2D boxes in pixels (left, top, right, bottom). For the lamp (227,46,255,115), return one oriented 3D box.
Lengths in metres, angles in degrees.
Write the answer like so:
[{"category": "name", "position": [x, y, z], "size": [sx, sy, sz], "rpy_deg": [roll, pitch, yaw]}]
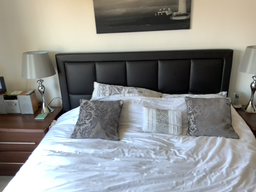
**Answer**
[{"category": "lamp", "position": [1.320, -0.170, 2.220], "size": [0.340, 0.650, 0.340], "rpy_deg": [-1, 21, 3]}]
